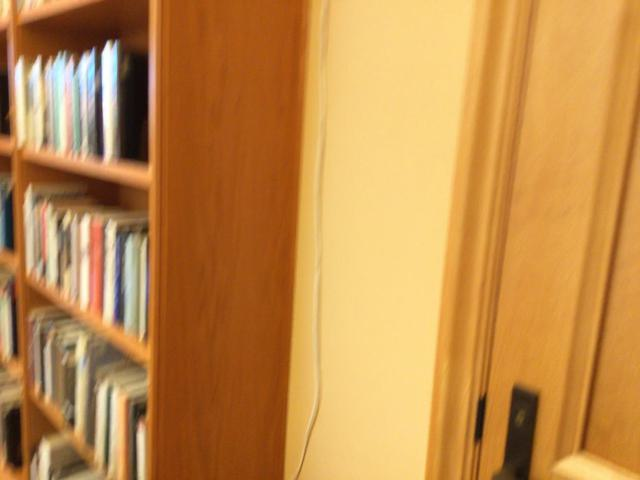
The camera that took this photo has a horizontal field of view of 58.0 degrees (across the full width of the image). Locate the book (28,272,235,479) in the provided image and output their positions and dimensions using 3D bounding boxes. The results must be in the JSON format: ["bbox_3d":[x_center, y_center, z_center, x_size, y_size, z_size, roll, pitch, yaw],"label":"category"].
[{"bbox_3d":[-0.560,0.380,1.600,0.240,0.410,0.750,-5,13,-43],"label":"book"}]

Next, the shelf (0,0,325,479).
[{"bbox_3d":[-0.920,-0.110,1.940,0.460,2.240,2.130,-5,13,-43],"label":"shelf"}]

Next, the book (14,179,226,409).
[{"bbox_3d":[-0.580,0.080,1.550,0.210,0.410,0.820,-5,13,-43],"label":"book"}]

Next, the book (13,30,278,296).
[{"bbox_3d":[-0.510,-0.220,1.540,0.340,0.520,0.800,-5,13,-43],"label":"book"}]
